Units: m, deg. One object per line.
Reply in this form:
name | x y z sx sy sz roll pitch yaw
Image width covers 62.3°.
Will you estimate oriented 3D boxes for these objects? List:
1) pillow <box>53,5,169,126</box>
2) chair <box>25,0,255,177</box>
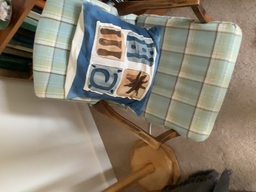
pillow | -0.070 -0.160 1.030 0.270 0.370 0.410 35 150 56
chair | 0.080 -0.160 1.060 0.770 0.710 0.550 25 104 31
